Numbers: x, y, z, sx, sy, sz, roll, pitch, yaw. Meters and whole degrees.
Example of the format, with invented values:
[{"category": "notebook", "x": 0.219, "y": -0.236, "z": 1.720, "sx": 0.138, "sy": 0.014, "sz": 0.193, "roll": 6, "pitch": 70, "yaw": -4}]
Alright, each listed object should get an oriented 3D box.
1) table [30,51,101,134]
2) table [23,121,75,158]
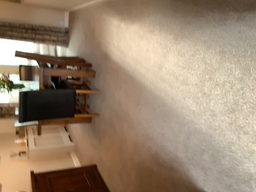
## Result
[{"category": "table", "x": -1.180, "y": -0.190, "z": 3.600, "sx": 1.810, "sy": 0.790, "sz": 0.910, "roll": 30, "pitch": 117, "yaw": 59}, {"category": "table", "x": -1.760, "y": 0.890, "z": 4.610, "sx": 1.180, "sy": 0.920, "sz": 0.200, "roll": 32, "pitch": 118, "yaw": 58}]
